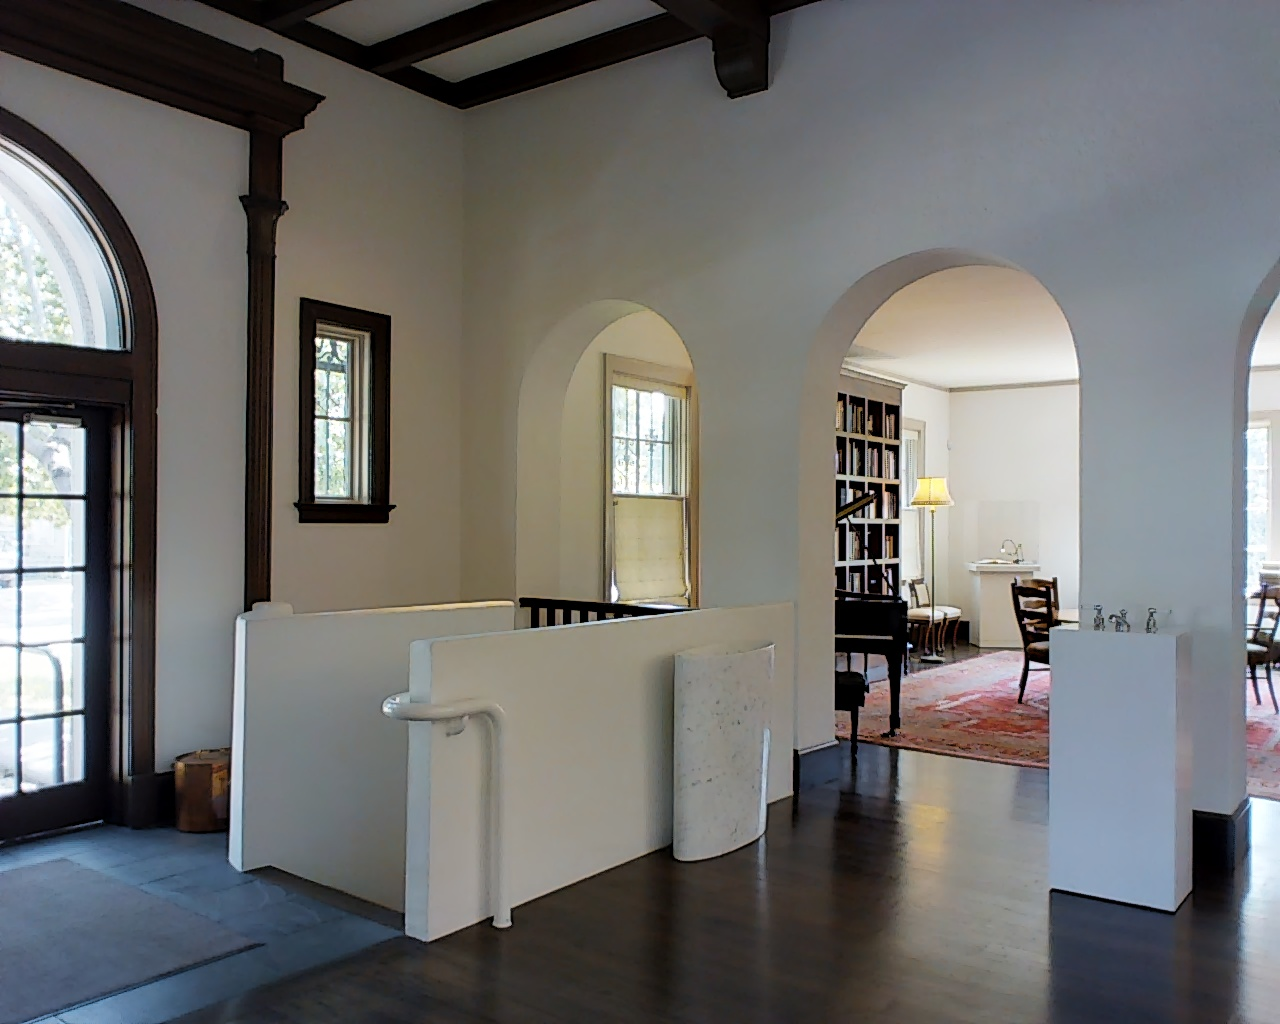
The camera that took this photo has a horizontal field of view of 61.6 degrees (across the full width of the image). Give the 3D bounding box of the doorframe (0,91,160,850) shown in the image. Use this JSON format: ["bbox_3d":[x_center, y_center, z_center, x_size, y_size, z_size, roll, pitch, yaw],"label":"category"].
[{"bbox_3d":[-2.970,-0.180,4.580,0.190,3.300,1.770,0,0,37],"label":"doorframe"}]
